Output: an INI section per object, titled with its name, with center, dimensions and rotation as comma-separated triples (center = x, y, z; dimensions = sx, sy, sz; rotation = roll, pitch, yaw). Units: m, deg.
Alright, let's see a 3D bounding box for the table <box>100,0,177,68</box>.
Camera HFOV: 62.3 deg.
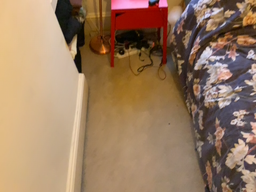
[table]
center = 0.070, -0.570, 1.670
dimensions = 0.480, 0.550, 0.440
rotation = -1, 57, 1
